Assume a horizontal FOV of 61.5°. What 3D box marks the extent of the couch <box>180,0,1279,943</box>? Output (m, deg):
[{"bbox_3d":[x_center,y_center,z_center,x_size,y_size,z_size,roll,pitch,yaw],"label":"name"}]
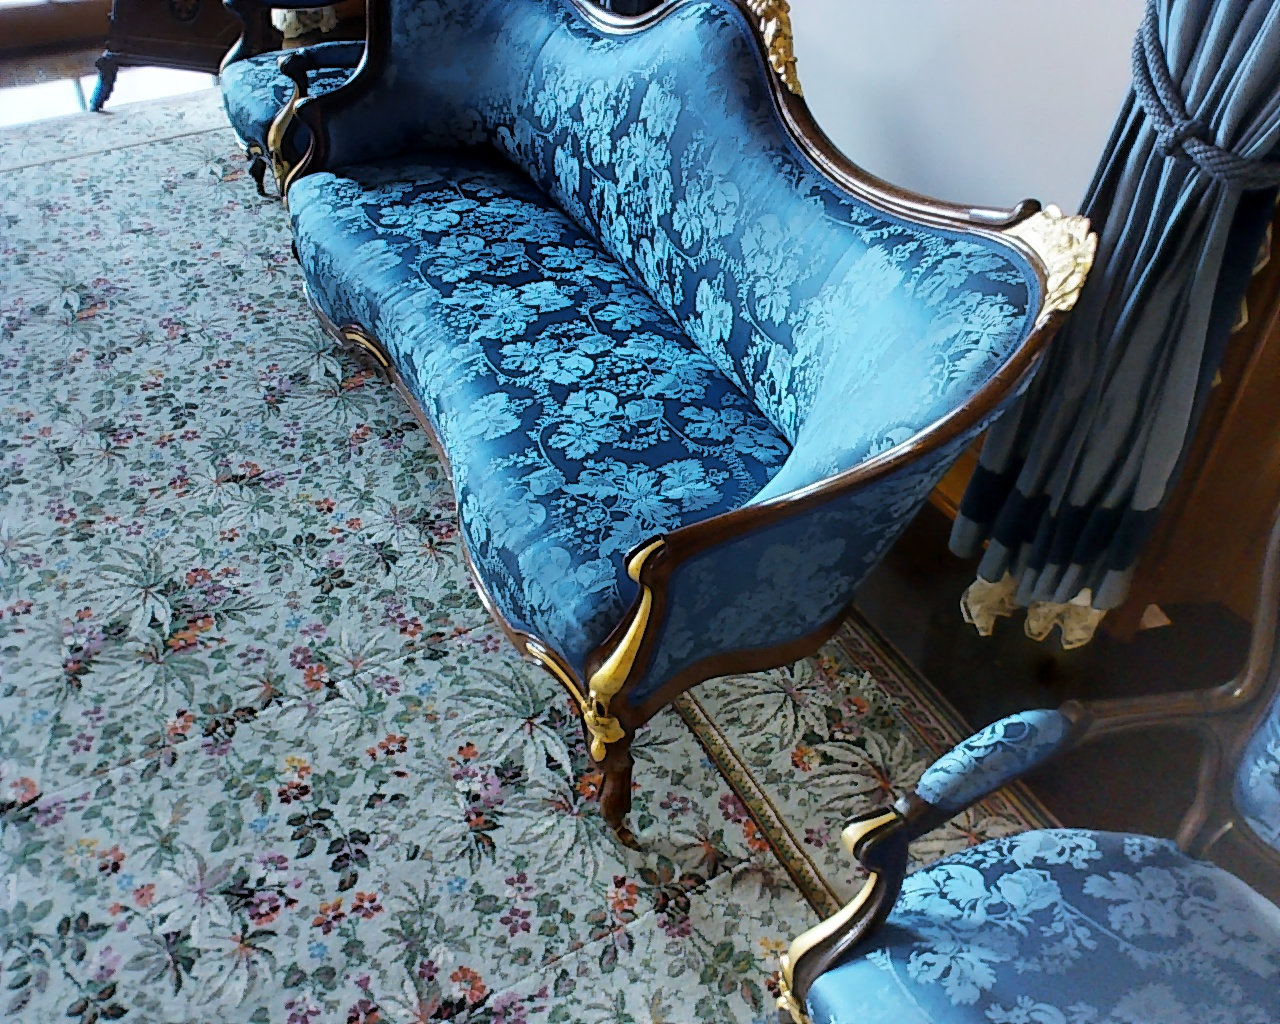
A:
[{"bbox_3d":[-0.150,-0.530,2.150,0.910,1.010,2.220,-20,46,-21],"label":"couch"}]
